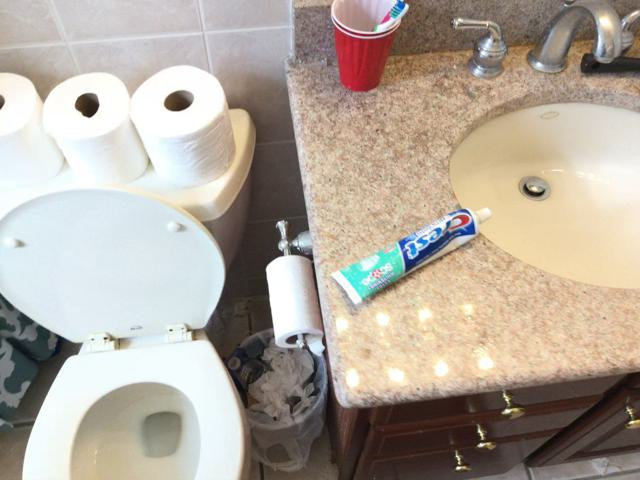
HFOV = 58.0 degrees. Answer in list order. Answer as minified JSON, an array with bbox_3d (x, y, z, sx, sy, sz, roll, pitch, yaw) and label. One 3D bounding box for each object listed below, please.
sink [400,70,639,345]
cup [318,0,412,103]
[{"bbox_3d":[0.380,-0.060,0.870,0.430,0.190,0.330,-6,56,-6],"label":"sink"},{"bbox_3d":[0.060,-0.280,0.840,0.110,0.120,0.090,-6,56,-6],"label":"cup"}]
